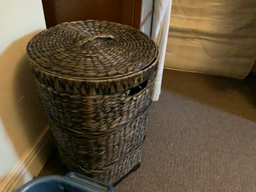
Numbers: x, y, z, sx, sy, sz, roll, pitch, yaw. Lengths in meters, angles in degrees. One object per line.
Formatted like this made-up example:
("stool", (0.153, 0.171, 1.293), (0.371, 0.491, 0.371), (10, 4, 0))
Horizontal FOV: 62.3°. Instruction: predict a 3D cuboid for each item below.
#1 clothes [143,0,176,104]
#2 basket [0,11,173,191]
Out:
("clothes", (0.200, -0.460, 1.120), (0.080, 1.170, 0.170), (13, 39, 10))
("basket", (-0.140, 0.070, 0.880), (0.480, 0.640, 0.410), (13, 39, 11))
